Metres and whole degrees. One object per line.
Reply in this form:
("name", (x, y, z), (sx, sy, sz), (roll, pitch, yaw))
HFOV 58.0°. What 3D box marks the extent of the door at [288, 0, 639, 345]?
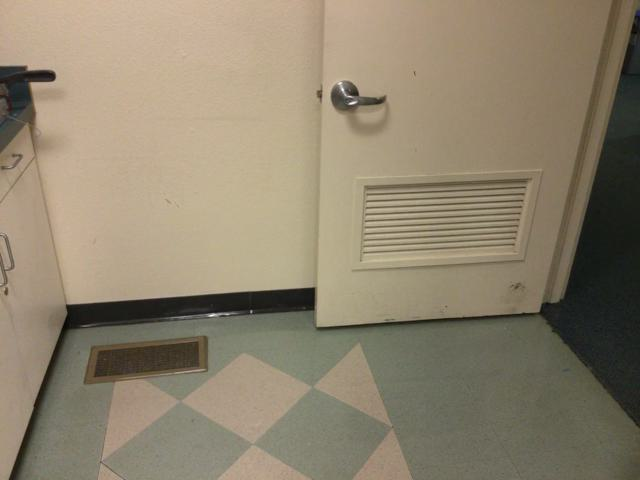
("door", (0.450, -0.710, 1.730), (1.080, 2.300, 0.180), (-5, 29, -5))
